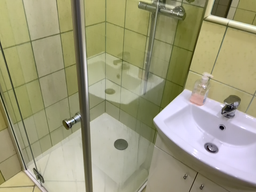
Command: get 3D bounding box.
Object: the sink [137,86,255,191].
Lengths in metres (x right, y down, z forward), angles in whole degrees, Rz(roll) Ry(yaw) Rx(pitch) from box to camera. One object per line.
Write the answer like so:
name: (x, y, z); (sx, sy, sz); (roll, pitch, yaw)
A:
sink: (0.360, 0.200, 0.940); (0.490, 0.180, 0.380); (28, 41, 28)
